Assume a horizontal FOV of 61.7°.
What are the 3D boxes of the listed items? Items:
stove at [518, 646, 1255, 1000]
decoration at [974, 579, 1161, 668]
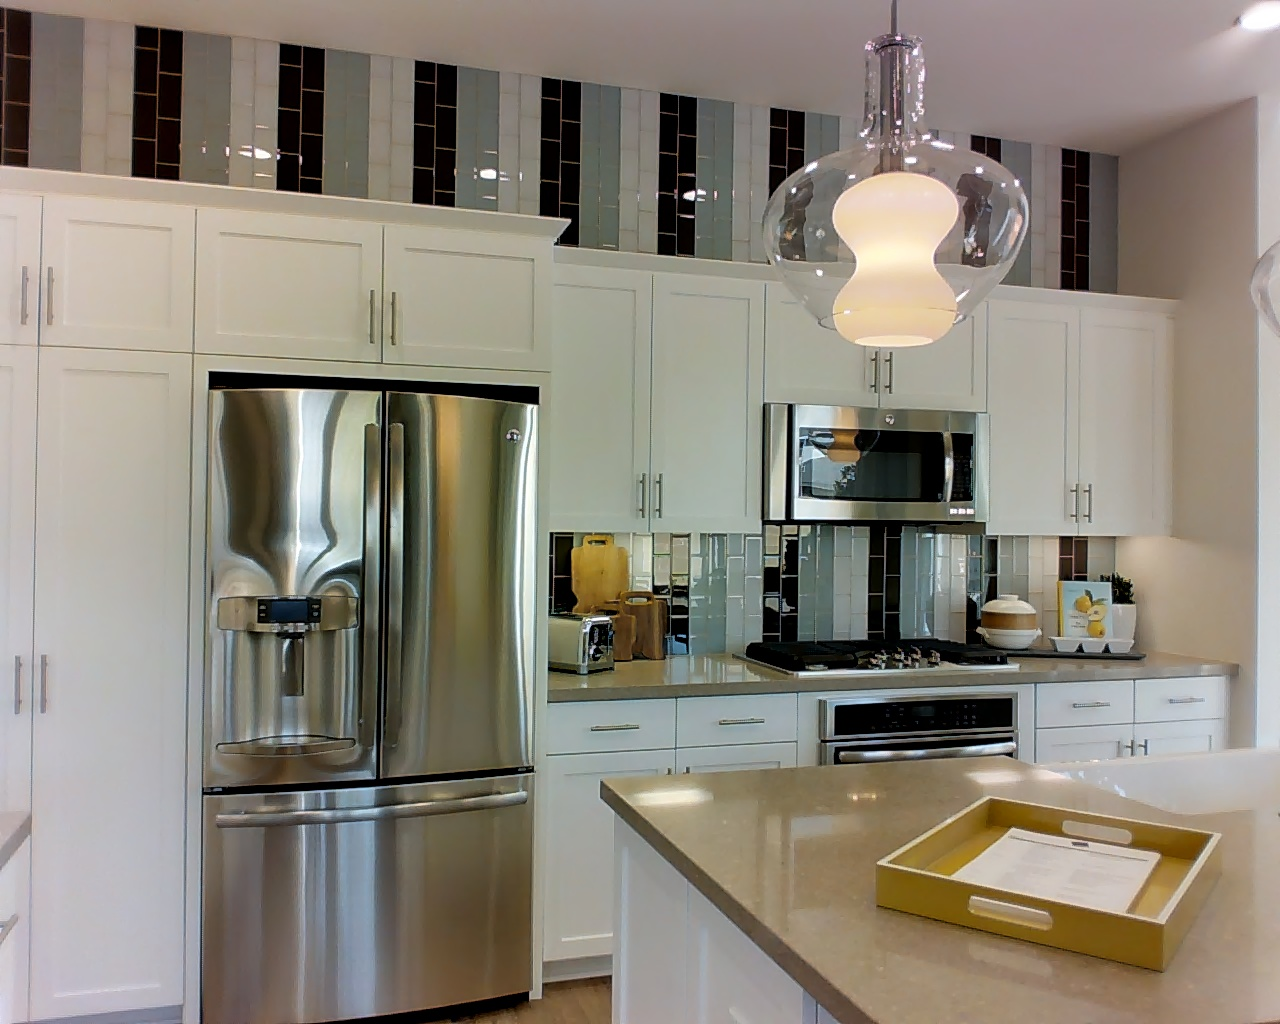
[{"bbox_3d":[0.930,1.020,3.920,2.659,0.900,0.650,0,-1,-17],"label":"stove"},{"bbox_3d":[1.679,0.430,4.250,0.520,0.300,0.460,0,-1,-12],"label":"decoration"}]
